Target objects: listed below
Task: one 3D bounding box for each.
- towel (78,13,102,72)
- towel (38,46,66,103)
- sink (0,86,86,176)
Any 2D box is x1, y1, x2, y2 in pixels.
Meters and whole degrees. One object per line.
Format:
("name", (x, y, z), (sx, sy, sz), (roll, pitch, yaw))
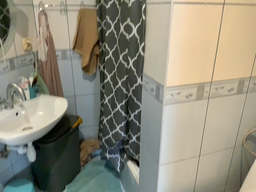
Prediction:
("towel", (-0.320, -0.450, 1.810), (0.170, 0.470, 0.120), (-4, 23, -13))
("towel", (-0.650, -0.180, 1.830), (0.150, 0.460, 0.110), (-12, 29, -26))
("sink", (-0.660, 0.180, 1.490), (0.430, 0.250, 0.670), (9, 23, 17))
